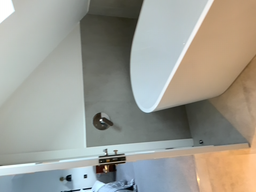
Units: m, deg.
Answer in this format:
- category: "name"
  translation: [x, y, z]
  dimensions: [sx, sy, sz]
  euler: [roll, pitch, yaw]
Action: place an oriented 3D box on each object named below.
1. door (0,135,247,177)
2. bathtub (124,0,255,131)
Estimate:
- category: "door"
  translation: [-0.240, 0.470, 1.570]
  dimensions: [0.940, 1.900, 0.070]
  euler: [131, 135, -65]
- category: "bathtub"
  translation: [0.500, -0.550, 1.460]
  dimensions: [1.690, 0.580, 0.780]
  euler: [110, 153, -48]
